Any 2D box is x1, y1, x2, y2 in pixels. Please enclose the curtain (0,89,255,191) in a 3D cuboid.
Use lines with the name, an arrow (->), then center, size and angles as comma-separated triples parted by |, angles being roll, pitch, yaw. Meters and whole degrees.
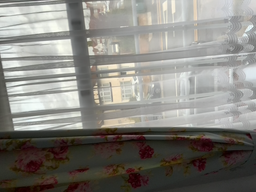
curtain -> 0.140, 0.260, 0.880 | 0.260, 1.950, 0.440 | -128, 32, -78
